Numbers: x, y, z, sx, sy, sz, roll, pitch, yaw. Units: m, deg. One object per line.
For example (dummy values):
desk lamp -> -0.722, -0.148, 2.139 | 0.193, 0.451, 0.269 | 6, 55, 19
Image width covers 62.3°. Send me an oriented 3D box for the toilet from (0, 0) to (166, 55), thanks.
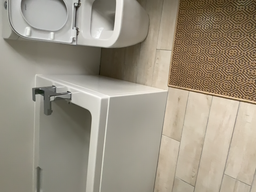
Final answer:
toilet -> -0.260, -0.530, 1.360 | 0.610, 0.820, 0.410 | 18, 107, 40
